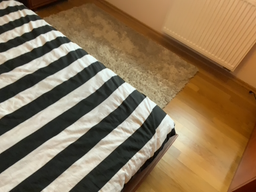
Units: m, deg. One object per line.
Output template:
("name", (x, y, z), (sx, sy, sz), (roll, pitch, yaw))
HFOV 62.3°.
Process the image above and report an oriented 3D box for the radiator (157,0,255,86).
("radiator", (0.760, -0.620, 1.930), (0.860, 0.720, 0.170), (37, 51, 16))
